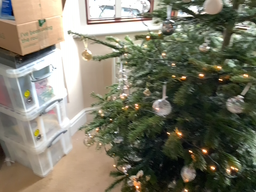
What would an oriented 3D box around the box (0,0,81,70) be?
[{"bbox_3d":[-0.630,-0.460,1.290,0.460,0.370,0.440,19,36,25],"label":"box"}]
